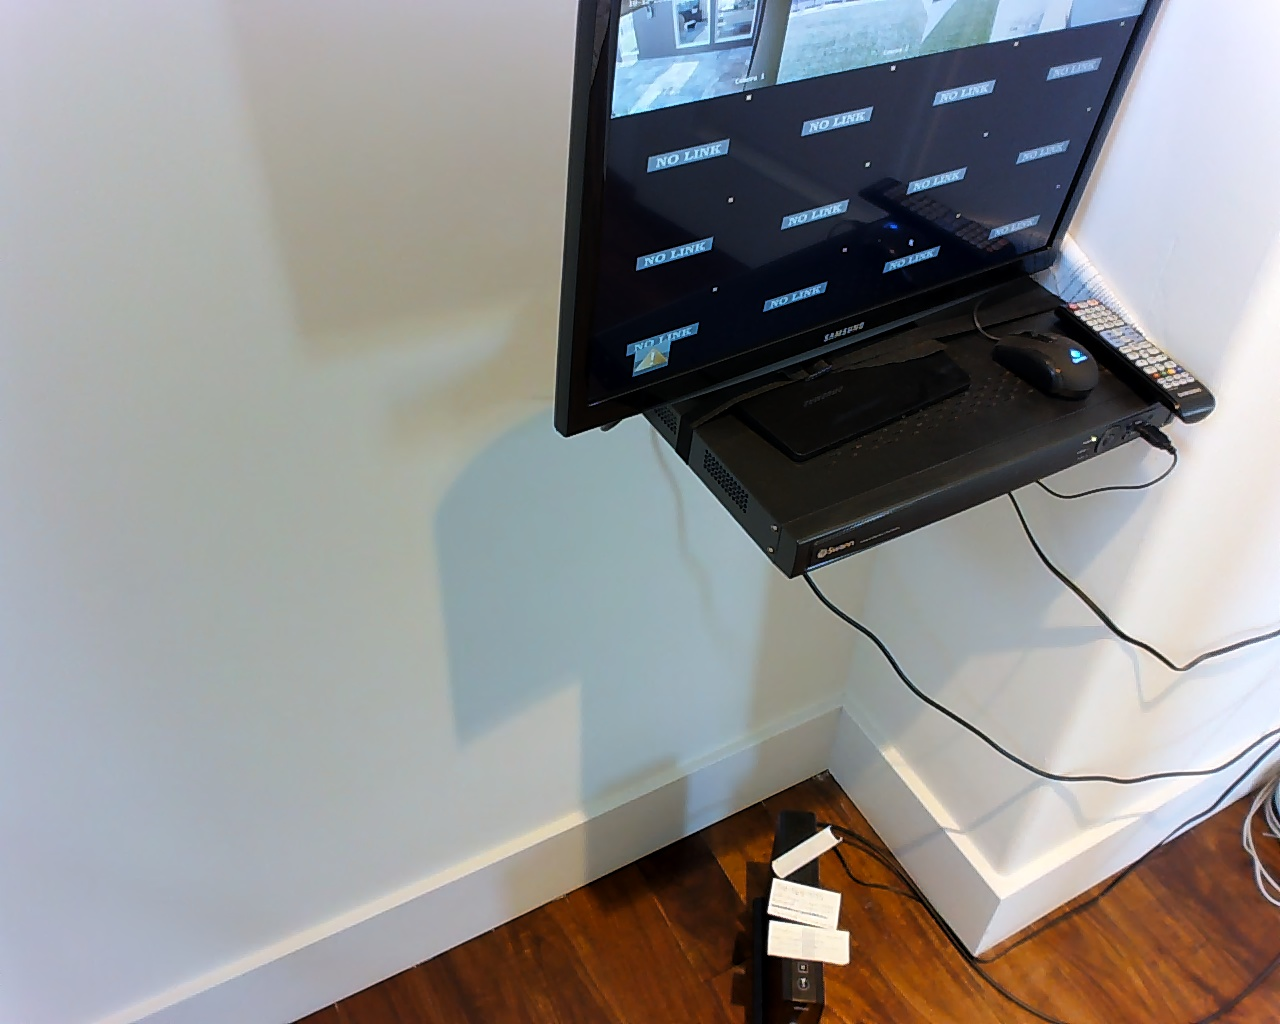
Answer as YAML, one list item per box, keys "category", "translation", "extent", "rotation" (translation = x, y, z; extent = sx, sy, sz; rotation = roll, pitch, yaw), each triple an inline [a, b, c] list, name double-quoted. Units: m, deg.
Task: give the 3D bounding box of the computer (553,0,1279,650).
- category: "computer"
  translation: [0.230, -0.230, 0.910]
  extent: [0.470, 0.400, 0.390]
  rotation: [-19, 46, -21]
